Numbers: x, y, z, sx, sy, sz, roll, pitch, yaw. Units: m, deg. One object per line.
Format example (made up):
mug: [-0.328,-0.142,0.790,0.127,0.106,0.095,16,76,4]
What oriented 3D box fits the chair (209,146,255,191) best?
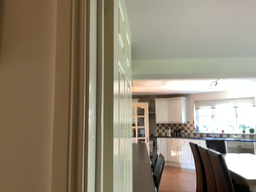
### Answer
chair: [1.330,1.130,2.490,0.550,1.000,0.450,-1,-7,5]

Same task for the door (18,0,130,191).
door: [-0.100,0.460,0.830,0.160,1.910,0.910,-1,-7,4]
